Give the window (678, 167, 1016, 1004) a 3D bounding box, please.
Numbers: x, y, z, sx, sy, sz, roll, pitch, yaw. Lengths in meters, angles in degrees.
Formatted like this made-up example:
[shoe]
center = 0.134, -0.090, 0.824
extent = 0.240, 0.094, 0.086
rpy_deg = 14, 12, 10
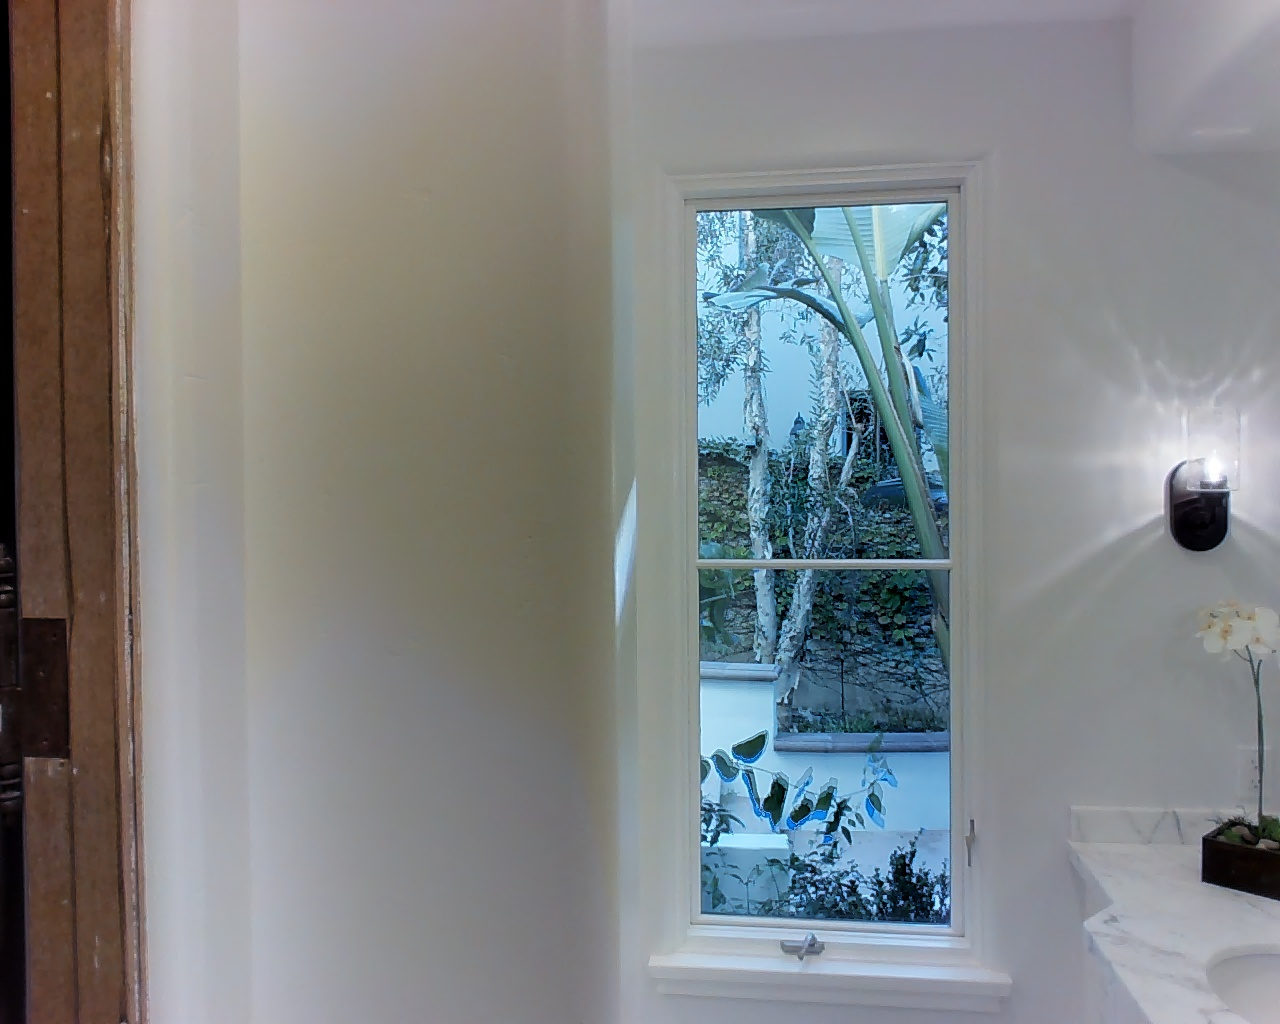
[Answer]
[window]
center = 0.480, 0.170, 2.550
extent = 0.750, 1.891, 0.140
rpy_deg = -1, 0, 9
